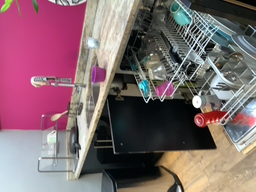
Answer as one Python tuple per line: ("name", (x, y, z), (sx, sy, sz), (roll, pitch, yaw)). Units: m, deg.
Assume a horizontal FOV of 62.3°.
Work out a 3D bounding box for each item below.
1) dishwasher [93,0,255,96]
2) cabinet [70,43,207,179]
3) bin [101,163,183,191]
("dishwasher", (0.280, -0.490, 1.470), (0.700, 0.870, 0.600), (-106, 29, -43))
("cabinet", (-0.030, 0.220, 2.120), (0.660, 0.900, 1.150), (-106, 29, -43))
("bin", (0.120, 0.880, 2.050), (0.280, 0.670, 0.350), (-107, 30, -42))
